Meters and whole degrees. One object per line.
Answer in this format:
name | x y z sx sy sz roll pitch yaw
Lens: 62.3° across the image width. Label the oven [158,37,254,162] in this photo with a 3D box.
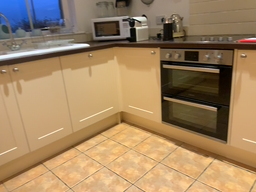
oven | 0.690 -0.040 1.930 0.560 0.910 0.600 14 25 42
